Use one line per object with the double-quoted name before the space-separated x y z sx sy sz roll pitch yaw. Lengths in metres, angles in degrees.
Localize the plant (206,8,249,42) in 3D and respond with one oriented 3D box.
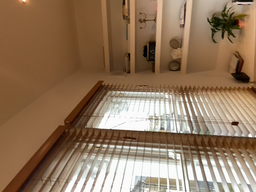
"plant" 1.330 -0.960 2.870 0.120 0.460 0.430 -70 -19 -66
